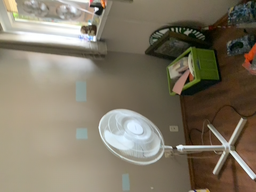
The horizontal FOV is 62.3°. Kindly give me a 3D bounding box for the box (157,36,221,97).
[{"bbox_3d":[0.650,-0.290,2.440,0.730,0.300,0.460,145,124,-68],"label":"box"}]

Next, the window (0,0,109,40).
[{"bbox_3d":[-0.710,-0.840,1.920,0.920,0.970,0.140,141,127,-67],"label":"window"}]
